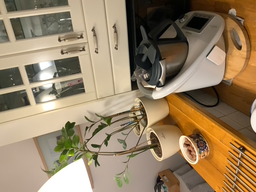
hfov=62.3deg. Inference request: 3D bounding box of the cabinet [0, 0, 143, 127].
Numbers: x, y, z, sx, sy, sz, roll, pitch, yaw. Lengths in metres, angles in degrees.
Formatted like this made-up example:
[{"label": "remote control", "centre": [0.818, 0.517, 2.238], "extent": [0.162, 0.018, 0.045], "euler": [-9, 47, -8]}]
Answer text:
[{"label": "cabinet", "centre": [-0.430, -0.290, 1.050], "extent": [0.400, 0.900, 0.650], "euler": [-135, 35, -56]}]
